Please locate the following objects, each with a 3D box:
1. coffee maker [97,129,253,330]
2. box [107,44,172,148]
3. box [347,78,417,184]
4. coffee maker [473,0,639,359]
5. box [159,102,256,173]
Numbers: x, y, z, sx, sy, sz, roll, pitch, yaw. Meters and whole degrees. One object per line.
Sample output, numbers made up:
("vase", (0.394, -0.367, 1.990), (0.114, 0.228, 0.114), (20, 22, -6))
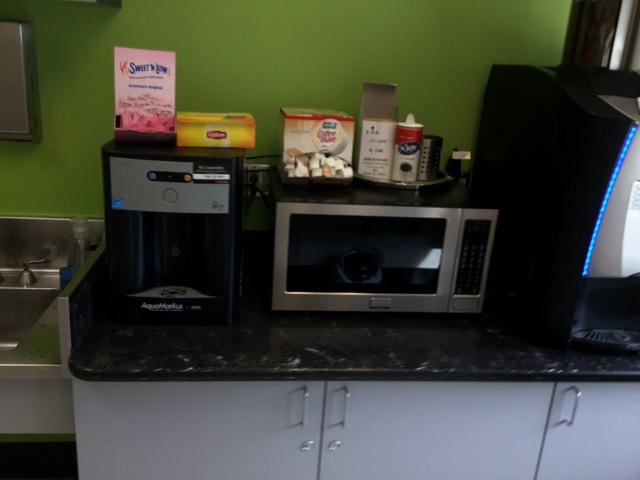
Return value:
("coffee maker", (-0.370, -0.040, 1.540), (0.350, 0.450, 0.330), (3, 15, -8))
("box", (-0.450, -0.360, 1.450), (0.130, 0.230, 0.150), (3, 15, -8))
("box", (0.180, -0.340, 1.770), (0.130, 0.290, 0.240), (3, 15, -8))
("coffee maker", (0.760, -0.220, 1.450), (0.510, 0.980, 0.310), (3, 15, -8))
("box", (-0.290, -0.270, 1.510), (0.230, 0.150, 0.170), (3, 15, -8))
